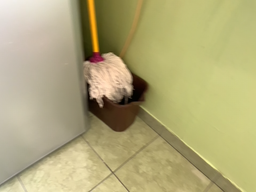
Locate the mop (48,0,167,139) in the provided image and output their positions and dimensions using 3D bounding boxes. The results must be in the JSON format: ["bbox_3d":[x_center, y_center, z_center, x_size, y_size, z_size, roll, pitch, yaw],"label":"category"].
[{"bbox_3d":[-0.110,-0.330,0.790,0.170,1.030,0.480,-30,57,-31],"label":"mop"}]
